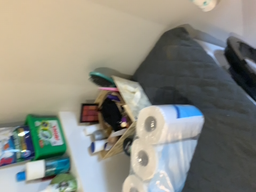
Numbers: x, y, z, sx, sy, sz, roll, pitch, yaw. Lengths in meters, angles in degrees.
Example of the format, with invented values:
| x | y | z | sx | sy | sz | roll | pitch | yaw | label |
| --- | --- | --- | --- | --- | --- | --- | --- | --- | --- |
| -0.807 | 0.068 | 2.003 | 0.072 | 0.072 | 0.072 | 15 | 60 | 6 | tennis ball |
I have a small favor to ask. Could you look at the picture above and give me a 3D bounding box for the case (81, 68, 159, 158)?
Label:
| x | y | z | sx | sy | sz | roll | pitch | yaw | label |
| --- | --- | --- | --- | --- | --- | --- | --- | --- | --- |
| -0.050 | 0.070 | 0.870 | 0.250 | 0.130 | 0.250 | -53 | 52 | 35 | case |
